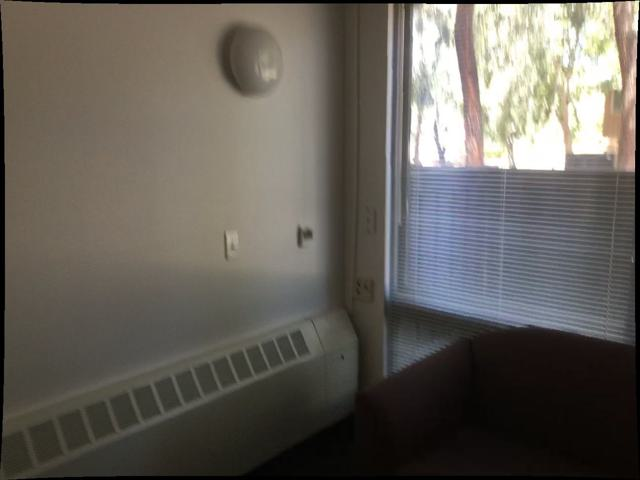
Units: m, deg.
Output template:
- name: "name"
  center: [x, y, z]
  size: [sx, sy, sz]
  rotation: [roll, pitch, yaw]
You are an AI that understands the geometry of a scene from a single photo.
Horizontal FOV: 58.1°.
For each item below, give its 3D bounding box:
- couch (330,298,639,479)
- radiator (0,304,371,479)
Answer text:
- name: "couch"
  center: [1.028, 0.821, 1.750]
  size: [1.838, 0.761, 0.939]
  rotation: [10, 14, 42]
- name: "radiator"
  center: [-0.529, 0.801, 2.280]
  size: [0.180, 0.661, 2.108]
  rotation: [10, 14, 42]
